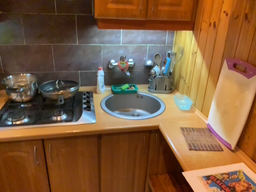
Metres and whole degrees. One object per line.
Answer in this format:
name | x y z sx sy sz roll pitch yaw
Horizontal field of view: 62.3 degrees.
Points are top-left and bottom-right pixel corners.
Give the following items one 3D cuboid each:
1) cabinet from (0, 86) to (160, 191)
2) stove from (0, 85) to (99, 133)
cabinet | -0.330 0.440 1.560 0.900 0.840 0.600 -2 24 -10
stove | -0.490 0.050 1.370 0.570 0.020 0.580 -2 24 -10
